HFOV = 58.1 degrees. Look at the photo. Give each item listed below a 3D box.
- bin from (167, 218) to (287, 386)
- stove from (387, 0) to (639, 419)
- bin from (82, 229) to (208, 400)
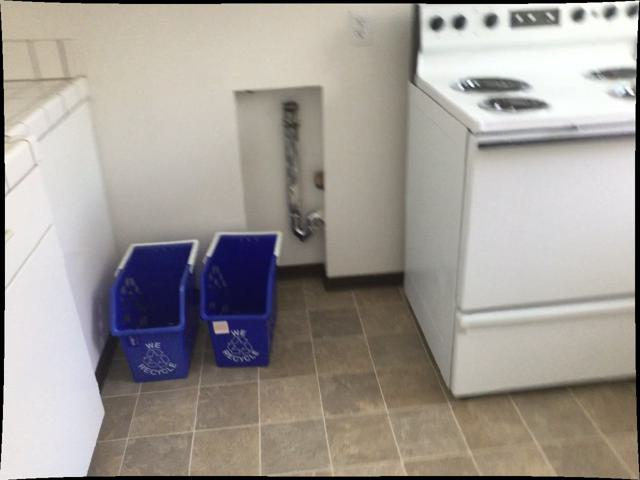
[{"bbox_3d":[-0.329,0.210,2.140,0.359,0.370,0.500,-5,29,-6],"label":"bin"},{"bbox_3d":[0.729,-0.150,1.910,0.819,1.131,0.770,-5,29,-6],"label":"stove"},{"bbox_3d":[-0.599,0.250,2.090,0.319,0.370,0.490,-5,29,-6],"label":"bin"}]
